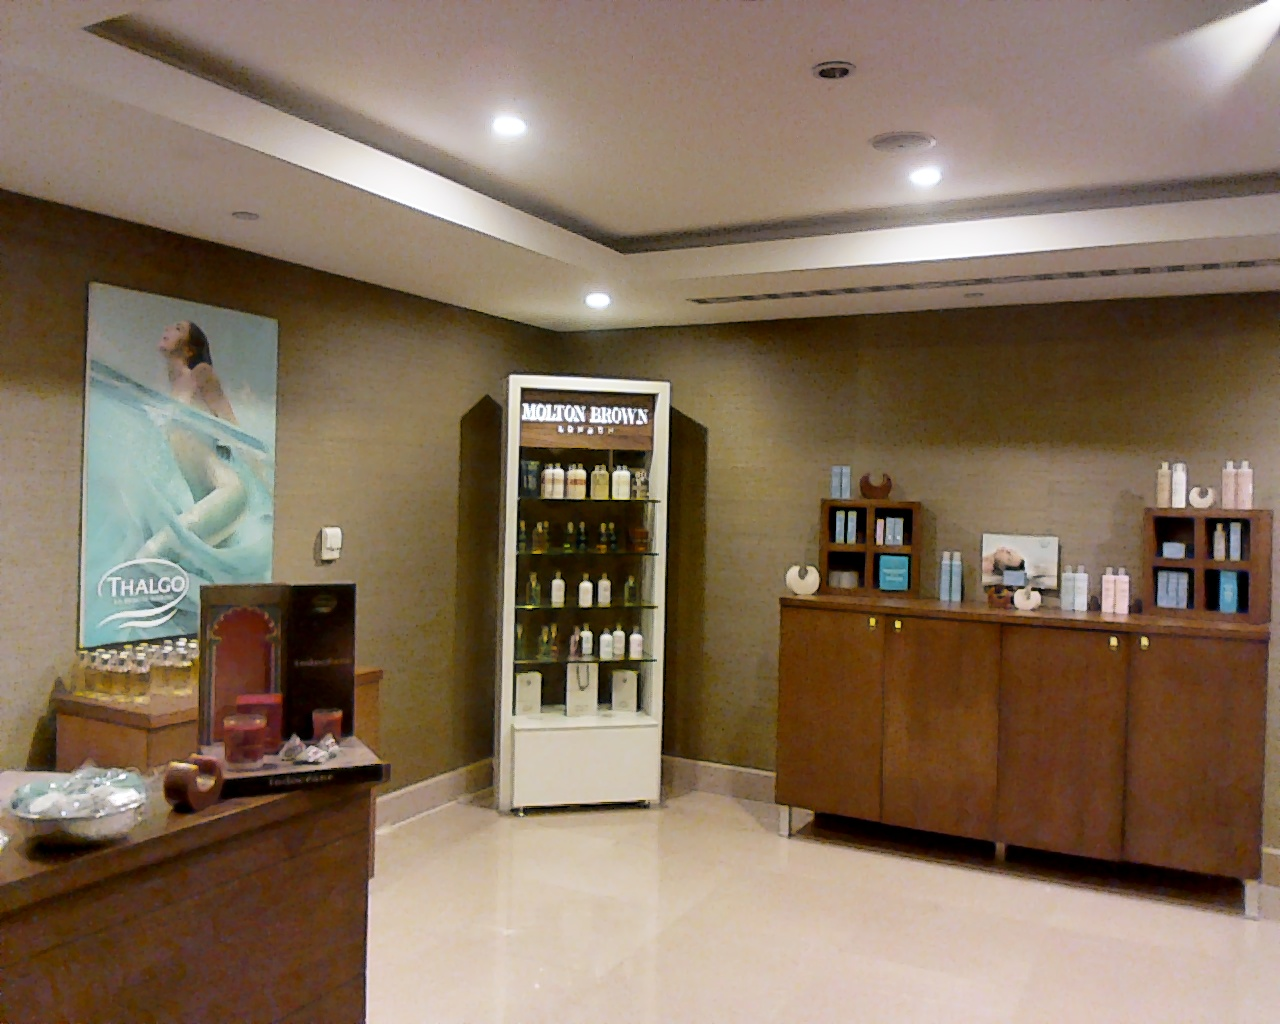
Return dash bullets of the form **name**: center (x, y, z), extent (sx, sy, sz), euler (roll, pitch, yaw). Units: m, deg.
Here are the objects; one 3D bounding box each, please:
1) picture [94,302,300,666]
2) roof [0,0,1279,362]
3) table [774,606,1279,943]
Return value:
- **picture**: center (-1.580, -0.090, 3.920), extent (0.060, 1.200, 0.810), euler (1, 0, 29)
- **roof**: center (0.490, -0.950, 2.710), extent (4.809, 0.260, 5.110), euler (1, 0, 29)
- **table**: center (1.610, 1.030, 4.670), extent (1.960, 1.090, 0.530), euler (1, 0, 28)
